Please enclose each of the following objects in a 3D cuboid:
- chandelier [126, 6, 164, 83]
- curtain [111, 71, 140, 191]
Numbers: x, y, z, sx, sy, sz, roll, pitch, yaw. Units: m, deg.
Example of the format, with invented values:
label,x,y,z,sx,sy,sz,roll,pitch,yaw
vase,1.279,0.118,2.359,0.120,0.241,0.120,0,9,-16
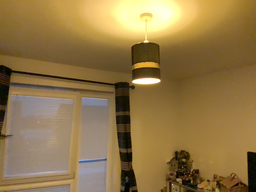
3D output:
label,x,y,z,sx,sy,sz,roll,pitch,yaw
chandelier,0.140,-0.350,1.560,0.230,0.440,0.340,-1,173,13
curtain,-0.030,0.660,3.110,0.330,2.000,0.220,5,172,-31
